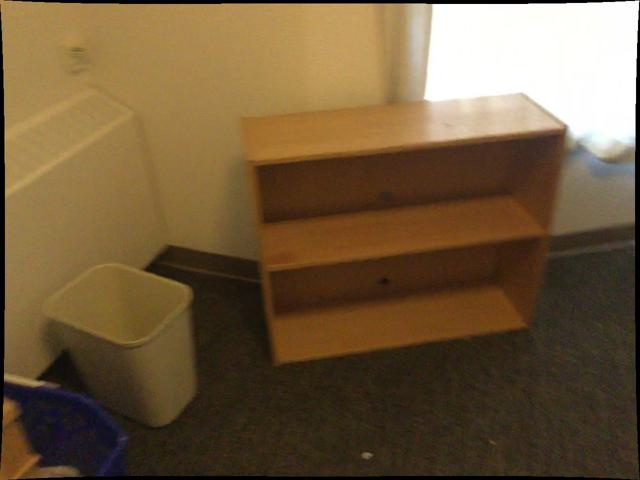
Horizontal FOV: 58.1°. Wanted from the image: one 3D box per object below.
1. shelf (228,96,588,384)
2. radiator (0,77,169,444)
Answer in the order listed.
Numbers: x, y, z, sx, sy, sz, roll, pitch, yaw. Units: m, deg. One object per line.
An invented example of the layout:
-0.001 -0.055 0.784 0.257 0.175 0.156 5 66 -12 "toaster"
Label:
0.230 -0.010 1.910 0.959 0.711 0.450 -7 37 -10 "shelf"
-0.859 0.020 1.860 0.230 0.771 0.900 9 38 12 "radiator"
